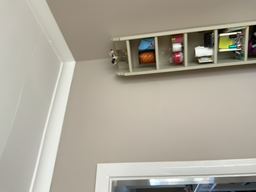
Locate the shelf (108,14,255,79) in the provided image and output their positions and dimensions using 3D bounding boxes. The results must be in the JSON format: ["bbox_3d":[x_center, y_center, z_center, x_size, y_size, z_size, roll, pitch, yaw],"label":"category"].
[{"bbox_3d":[0.860,-0.360,1.360,0.230,1.960,0.230,77,-169,-54],"label":"shelf"}]

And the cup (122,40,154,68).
[{"bbox_3d":[0.070,-0.290,1.480,0.120,0.200,0.170,-62,-33,-78],"label":"cup"}]
